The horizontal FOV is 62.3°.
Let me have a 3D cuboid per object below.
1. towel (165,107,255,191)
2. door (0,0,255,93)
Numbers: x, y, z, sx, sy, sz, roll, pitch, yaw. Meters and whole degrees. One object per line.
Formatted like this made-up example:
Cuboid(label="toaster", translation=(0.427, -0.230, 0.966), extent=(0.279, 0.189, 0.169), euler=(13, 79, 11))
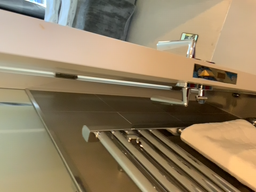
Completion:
Cuboid(label="towel", translation=(0.430, 0.160, 0.610), extent=(0.420, 0.480, 0.090), euler=(32, 113, 49))
Cuboid(label="door", translation=(-0.140, -0.100, 0.750), extent=(0.840, 2.000, 0.040), euler=(7, 92, 53))
